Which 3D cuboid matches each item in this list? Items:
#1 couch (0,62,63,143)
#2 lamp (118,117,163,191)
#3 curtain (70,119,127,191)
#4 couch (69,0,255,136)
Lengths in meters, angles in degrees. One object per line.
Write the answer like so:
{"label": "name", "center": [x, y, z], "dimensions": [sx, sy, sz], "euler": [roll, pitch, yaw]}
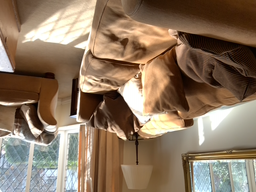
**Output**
{"label": "couch", "center": [-1.780, 0.140, 2.790], "dimensions": [1.660, 0.850, 0.990], "euler": [5, 162, -18]}
{"label": "lamp", "center": [0.140, 0.750, 2.790], "dimensions": [0.470, 0.860, 0.390], "euler": [4, 162, -16]}
{"label": "curtain", "center": [-0.390, 1.260, 2.820], "dimensions": [0.700, 1.810, 0.290], "euler": [-7, 162, 20]}
{"label": "couch", "center": [0.220, -0.220, 1.740], "dimensions": [1.160, 0.840, 2.000], "euler": [5, 162, -18]}
